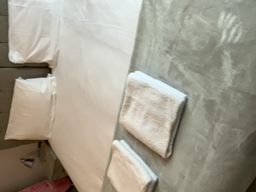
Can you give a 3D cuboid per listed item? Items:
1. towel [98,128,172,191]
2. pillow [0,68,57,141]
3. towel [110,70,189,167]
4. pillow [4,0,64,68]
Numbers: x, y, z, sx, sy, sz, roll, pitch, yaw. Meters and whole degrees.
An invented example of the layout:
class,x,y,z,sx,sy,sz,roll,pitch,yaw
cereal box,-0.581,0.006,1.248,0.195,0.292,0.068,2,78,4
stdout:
class,x,y,z,sx,sy,sz,roll,pitch,yaw
towel,0.010,0.490,1.300,0.440,0.100,0.380,41,124,39
pillow,-0.970,0.090,2.130,0.140,0.480,0.720,-127,41,-57
towel,0.080,0.090,1.100,0.400,0.080,0.360,28,116,44
pillow,-0.800,-0.610,1.830,0.140,0.440,0.720,-129,44,-52
